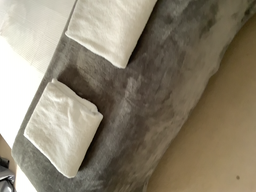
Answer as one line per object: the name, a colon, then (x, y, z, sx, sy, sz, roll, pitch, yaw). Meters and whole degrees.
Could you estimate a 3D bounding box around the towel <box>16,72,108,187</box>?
towel: (-0.340, 0.140, 1.020, 0.420, 0.100, 0.350, 34, 105, 30)

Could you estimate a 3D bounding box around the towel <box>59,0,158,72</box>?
towel: (-0.100, -0.360, 0.950, 0.390, 0.080, 0.370, 33, 104, 30)
